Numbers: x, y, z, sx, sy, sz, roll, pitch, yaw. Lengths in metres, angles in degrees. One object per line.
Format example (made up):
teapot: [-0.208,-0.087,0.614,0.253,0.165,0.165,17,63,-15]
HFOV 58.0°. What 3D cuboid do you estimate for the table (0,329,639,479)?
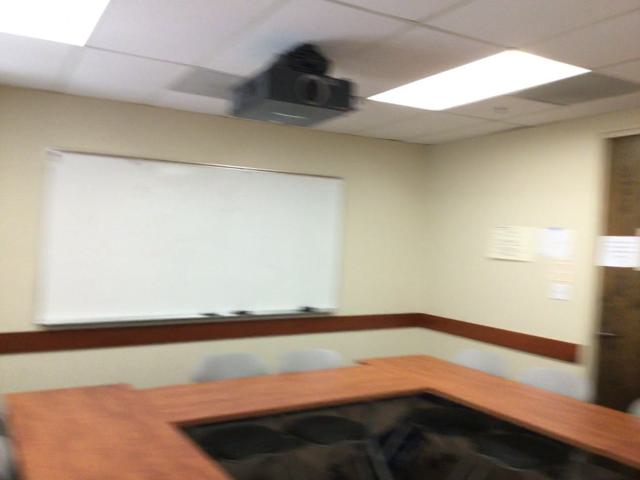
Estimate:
table: [0.460,1.150,1.940,2.790,0.870,3.580,1,2,-32]
